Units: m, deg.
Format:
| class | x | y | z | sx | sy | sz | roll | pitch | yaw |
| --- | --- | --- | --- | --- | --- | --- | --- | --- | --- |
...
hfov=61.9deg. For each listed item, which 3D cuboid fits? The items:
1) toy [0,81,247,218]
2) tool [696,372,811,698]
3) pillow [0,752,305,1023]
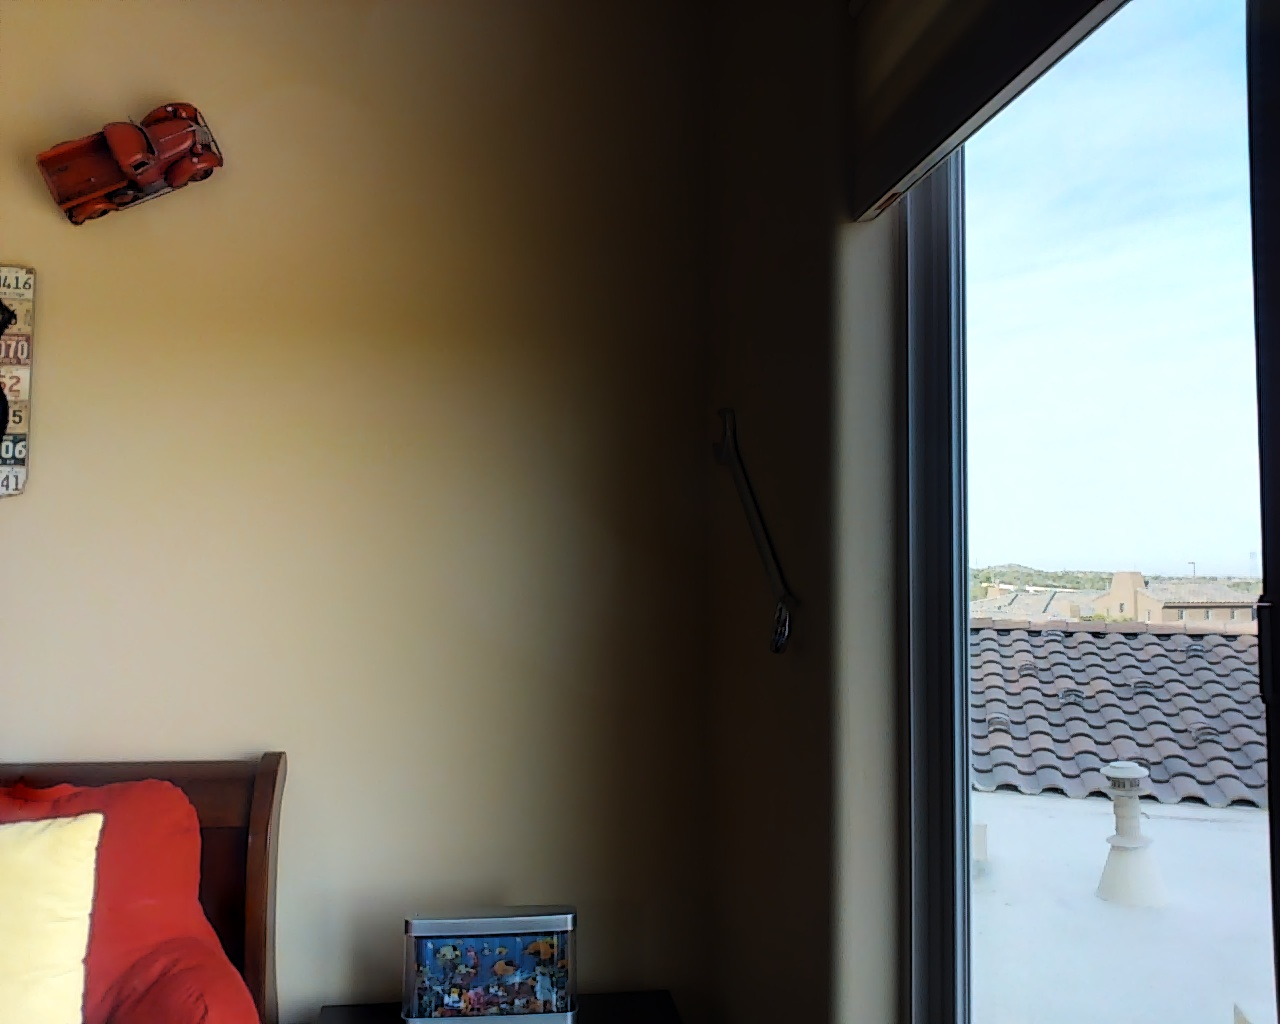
| class | x | y | z | sx | sy | sz | roll | pitch | yaw |
| --- | --- | --- | --- | --- | --- | --- | --- | --- | --- |
| toy | -0.990 | -0.700 | 2.070 | 0.390 | 0.170 | 0.160 | 0 | -26 | -9 |
| tool | 0.190 | 0.010 | 1.960 | 0.040 | 0.200 | 0.700 | 0 | 38 | -9 |
| pillow | -0.980 | 0.660 | 1.700 | 0.780 | 0.440 | 0.500 | 0 | -3 | -9 |
